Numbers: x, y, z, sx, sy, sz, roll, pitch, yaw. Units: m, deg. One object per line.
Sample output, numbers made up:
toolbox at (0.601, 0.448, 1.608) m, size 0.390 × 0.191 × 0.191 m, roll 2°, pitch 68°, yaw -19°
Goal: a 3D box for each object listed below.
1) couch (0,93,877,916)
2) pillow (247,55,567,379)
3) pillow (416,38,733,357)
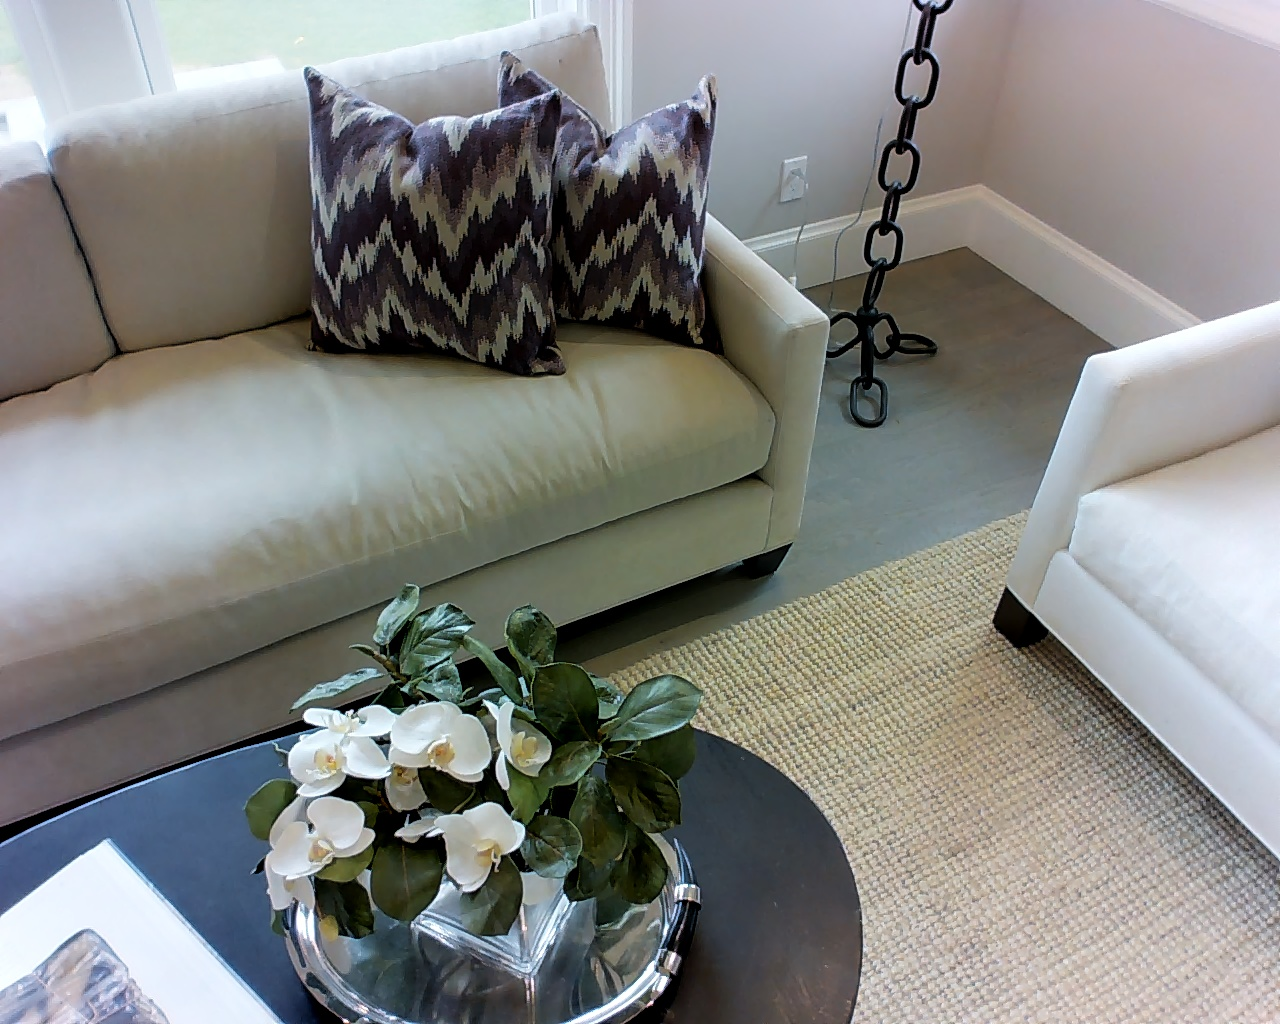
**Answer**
couch at (-0.860, -0.070, 1.950) m, size 2.240 × 0.650 × 1.090 m, roll -18°, pitch 46°, yaw -21°
pillow at (-0.370, -0.500, 1.850) m, size 0.460 × 0.460 × 0.240 m, roll -4°, pitch 42°, yaw -6°
pillow at (-0.110, -0.560, 1.940) m, size 0.490 × 0.460 × 0.310 m, roll 0°, pitch 42°, yaw -2°
